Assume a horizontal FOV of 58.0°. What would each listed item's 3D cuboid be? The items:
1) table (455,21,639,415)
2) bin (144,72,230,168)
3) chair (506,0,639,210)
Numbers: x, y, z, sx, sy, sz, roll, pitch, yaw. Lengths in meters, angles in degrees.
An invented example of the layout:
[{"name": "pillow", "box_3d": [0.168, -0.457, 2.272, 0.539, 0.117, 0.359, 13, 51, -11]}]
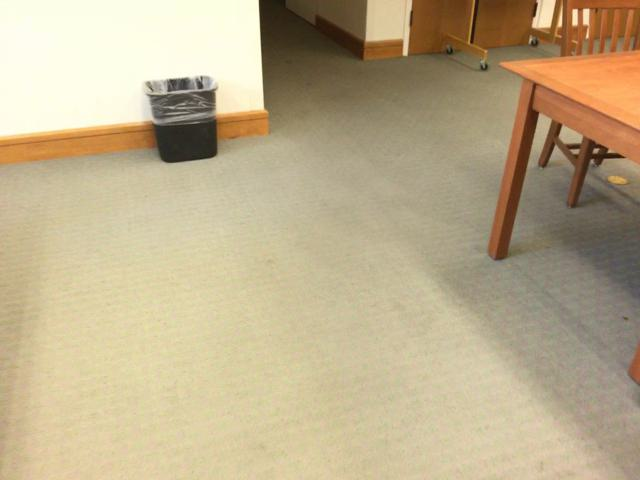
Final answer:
[{"name": "table", "box_3d": [1.570, -0.270, 2.010, 1.830, 0.830, 0.990, -10, 31, -14]}, {"name": "bin", "box_3d": [-0.690, -0.630, 3.010, 0.360, 0.380, 0.280, -10, 31, -14]}, {"name": "chair", "box_3d": [1.310, -0.710, 2.610, 0.590, 0.920, 0.550, -10, 31, -14]}]
